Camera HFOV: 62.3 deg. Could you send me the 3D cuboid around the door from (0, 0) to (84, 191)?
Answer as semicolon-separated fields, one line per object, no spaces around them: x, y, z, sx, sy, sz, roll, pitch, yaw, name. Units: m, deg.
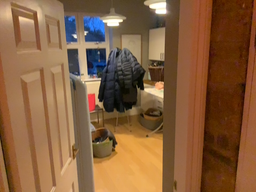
-0.430;0.380;1.280;0.100;2.030;0.780;-1;14;1;door
